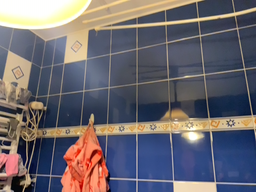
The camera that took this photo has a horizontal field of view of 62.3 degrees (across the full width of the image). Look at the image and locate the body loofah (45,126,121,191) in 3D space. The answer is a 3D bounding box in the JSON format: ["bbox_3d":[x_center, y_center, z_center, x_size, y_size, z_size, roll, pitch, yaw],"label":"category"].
[{"bbox_3d":[-0.270,0.700,1.170,0.410,1.030,0.130,-6,-19,22],"label":"body loofah"}]
